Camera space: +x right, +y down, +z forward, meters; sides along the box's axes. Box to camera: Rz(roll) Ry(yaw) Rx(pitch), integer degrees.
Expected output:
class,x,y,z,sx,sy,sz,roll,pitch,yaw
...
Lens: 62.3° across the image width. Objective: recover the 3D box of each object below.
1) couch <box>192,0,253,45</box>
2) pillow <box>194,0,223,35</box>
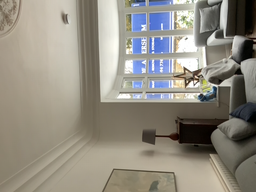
class,x,y,z,sx,sy,sz,roll,pitch,yaw
couch,1.700,-1.510,3.990,1.050,0.790,0.920,-35,-55,-79
pillow,1.560,-1.520,4.150,0.150,0.460,0.490,-8,-90,-38
